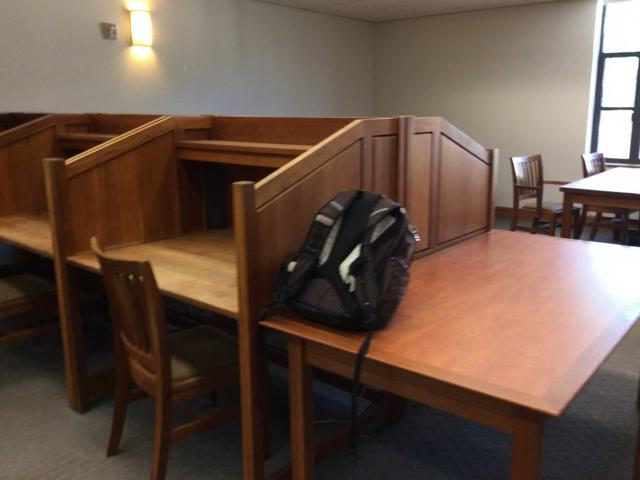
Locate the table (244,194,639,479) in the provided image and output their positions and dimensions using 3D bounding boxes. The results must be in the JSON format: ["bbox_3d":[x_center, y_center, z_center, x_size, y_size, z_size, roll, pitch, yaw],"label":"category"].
[{"bbox_3d":[0.740,0.490,2.270,0.930,0.900,1.790,9,22,40],"label":"table"}]
